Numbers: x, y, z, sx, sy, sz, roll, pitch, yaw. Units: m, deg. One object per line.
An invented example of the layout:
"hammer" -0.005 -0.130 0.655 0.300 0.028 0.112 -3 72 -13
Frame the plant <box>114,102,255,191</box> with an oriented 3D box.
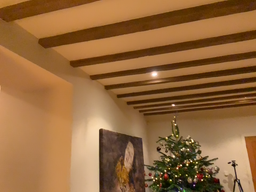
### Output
"plant" 0.950 1.420 3.390 1.810 2.150 1.630 -7 -16 17
